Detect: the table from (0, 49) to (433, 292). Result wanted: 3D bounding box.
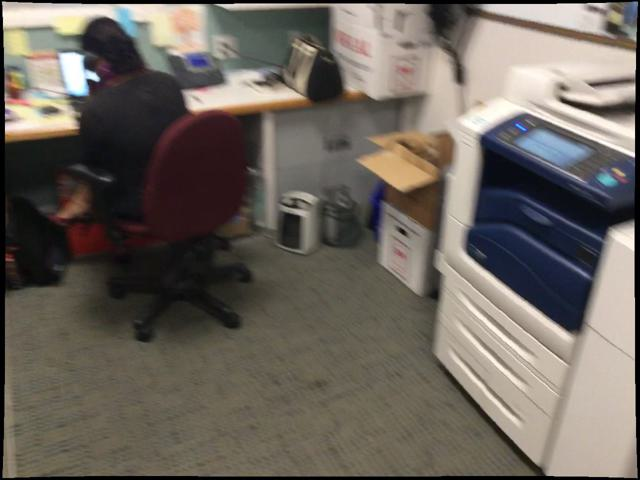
[{"bbox_3d":[-0.519,-0.430,2.780,2.088,0.691,0.590,-13,32,-24],"label":"table"}]

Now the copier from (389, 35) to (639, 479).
[{"bbox_3d":[0.879,0.090,1.700,0.689,1.091,1.280,-13,32,-24],"label":"copier"}]

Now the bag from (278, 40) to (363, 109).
[{"bbox_3d":[0.000,-0.801,2.770,0.310,0.240,0.270,-14,32,-24],"label":"bag"}]
